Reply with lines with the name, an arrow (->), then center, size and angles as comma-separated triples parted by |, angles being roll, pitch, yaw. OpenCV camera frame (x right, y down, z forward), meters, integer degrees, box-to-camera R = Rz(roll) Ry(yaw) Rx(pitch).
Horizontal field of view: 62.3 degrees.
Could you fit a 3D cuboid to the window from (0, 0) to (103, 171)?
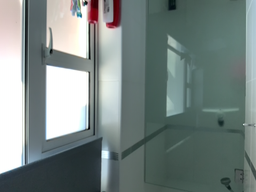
window -> -0.610, -0.190, 0.430 | 0.050, 0.920, 2.120 | 1, -179, 23
